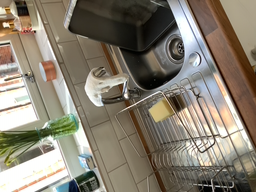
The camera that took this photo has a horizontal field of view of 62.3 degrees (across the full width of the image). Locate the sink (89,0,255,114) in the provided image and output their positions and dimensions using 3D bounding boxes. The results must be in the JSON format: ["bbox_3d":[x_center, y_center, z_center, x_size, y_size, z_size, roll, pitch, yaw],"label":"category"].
[{"bbox_3d":[0.100,-0.240,0.840,0.520,0.190,0.490,-30,81,58],"label":"sink"}]
